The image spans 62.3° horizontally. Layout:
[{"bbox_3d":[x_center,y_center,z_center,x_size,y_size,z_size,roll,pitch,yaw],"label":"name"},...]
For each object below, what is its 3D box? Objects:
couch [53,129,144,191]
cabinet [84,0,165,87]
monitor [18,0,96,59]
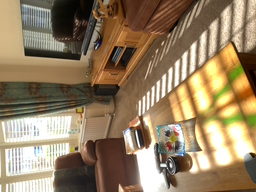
[{"bbox_3d":[-0.470,1.200,2.960,1.020,0.960,1.150,132,132,-56],"label":"couch"},{"bbox_3d":[-0.150,-0.660,2.720,1.390,0.490,0.500,130,133,-55],"label":"cabinet"},{"bbox_3d":[-0.850,-0.820,2.490,1.290,0.740,0.060,132,131,-58],"label":"monitor"}]
